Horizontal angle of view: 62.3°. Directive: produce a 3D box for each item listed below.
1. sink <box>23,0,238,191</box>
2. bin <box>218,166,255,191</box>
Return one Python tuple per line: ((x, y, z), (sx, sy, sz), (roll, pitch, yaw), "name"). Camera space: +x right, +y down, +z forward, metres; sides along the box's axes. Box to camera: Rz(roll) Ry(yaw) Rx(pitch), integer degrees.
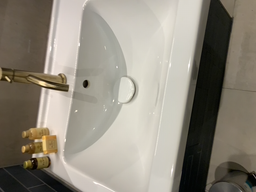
((-0.040, -0.020, 0.620), (0.540, 0.210, 0.550), (10, 93, 38), "sink")
((0.540, 0.450, 1.020), (0.140, 0.240, 0.130), (10, 93, 38), "bin")
